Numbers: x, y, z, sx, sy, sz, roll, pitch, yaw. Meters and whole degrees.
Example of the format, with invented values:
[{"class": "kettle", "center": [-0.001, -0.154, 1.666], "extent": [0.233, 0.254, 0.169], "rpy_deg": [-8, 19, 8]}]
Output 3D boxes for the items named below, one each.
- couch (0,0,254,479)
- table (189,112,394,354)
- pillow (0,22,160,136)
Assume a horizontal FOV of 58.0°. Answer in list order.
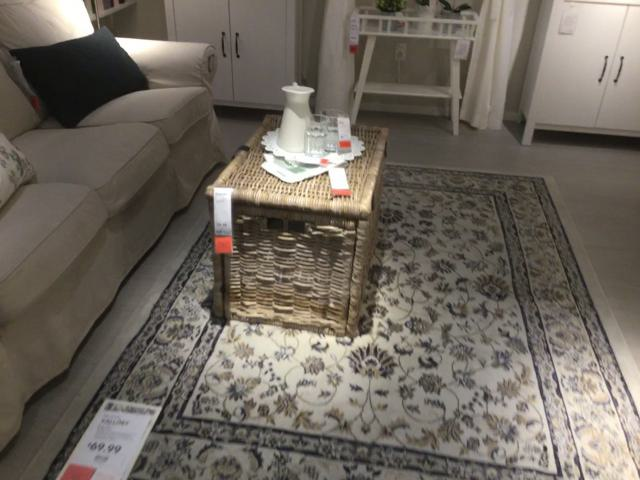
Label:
[{"class": "couch", "center": [-1.110, -0.380, 2.110], "extent": [1.100, 1.000, 2.140], "rpy_deg": [6, 32, 10]}, {"class": "table", "center": [-0.050, -0.070, 2.070], "extent": [0.520, 0.520, 0.730], "rpy_deg": [7, 32, 10]}, {"class": "pillow", "center": [-1.020, -0.720, 2.500], "extent": [0.340, 0.280, 0.690], "rpy_deg": [6, 32, 10]}]
